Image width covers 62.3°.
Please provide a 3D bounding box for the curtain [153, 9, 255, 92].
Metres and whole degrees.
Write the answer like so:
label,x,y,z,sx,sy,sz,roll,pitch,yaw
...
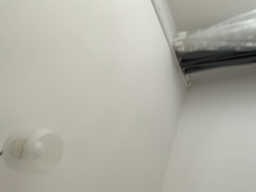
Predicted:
label,x,y,z,sx,sy,sz,roll,pitch,yaw
curtain,0.890,-0.350,1.570,0.450,1.300,0.280,58,-138,-33
